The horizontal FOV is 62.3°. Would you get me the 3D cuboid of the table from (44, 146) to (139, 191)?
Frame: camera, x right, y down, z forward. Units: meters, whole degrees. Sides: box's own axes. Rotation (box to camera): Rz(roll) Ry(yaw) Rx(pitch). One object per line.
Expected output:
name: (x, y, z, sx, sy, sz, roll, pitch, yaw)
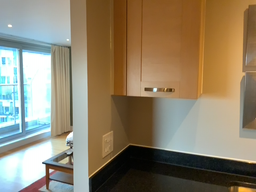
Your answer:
table: (-0.500, 1.080, 3.000, 1.170, 0.410, 0.600, 3, 6, 22)
